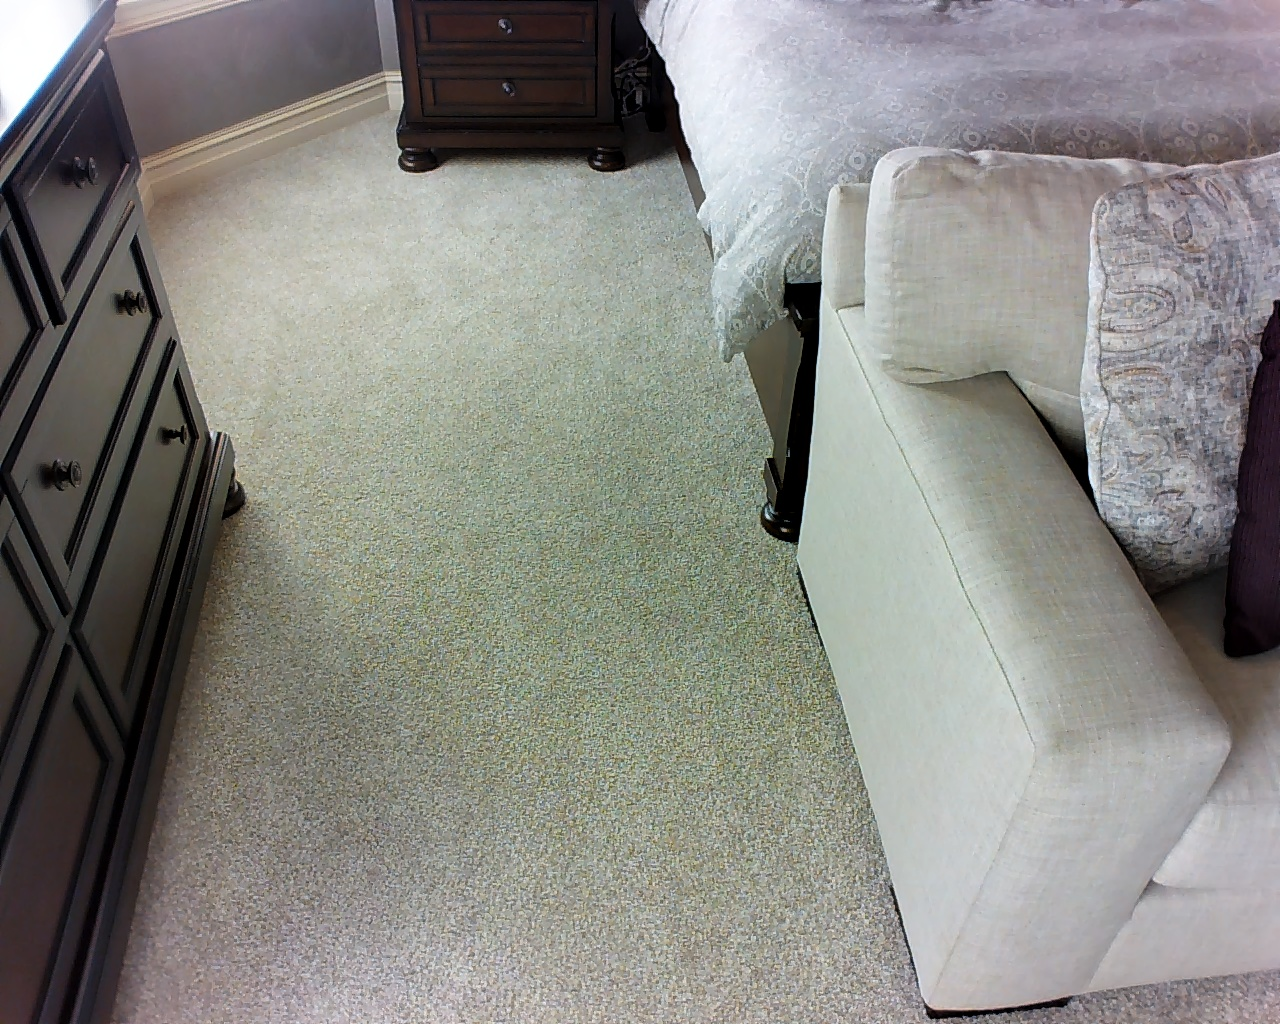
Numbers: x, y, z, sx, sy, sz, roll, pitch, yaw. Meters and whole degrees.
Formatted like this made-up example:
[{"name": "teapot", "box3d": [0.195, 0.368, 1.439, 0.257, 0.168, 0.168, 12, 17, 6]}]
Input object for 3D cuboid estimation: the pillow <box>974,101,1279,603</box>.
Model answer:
[{"name": "pillow", "box3d": [0.770, -0.230, 1.390, 0.550, 0.470, 0.250, -24, 47, -26]}]
